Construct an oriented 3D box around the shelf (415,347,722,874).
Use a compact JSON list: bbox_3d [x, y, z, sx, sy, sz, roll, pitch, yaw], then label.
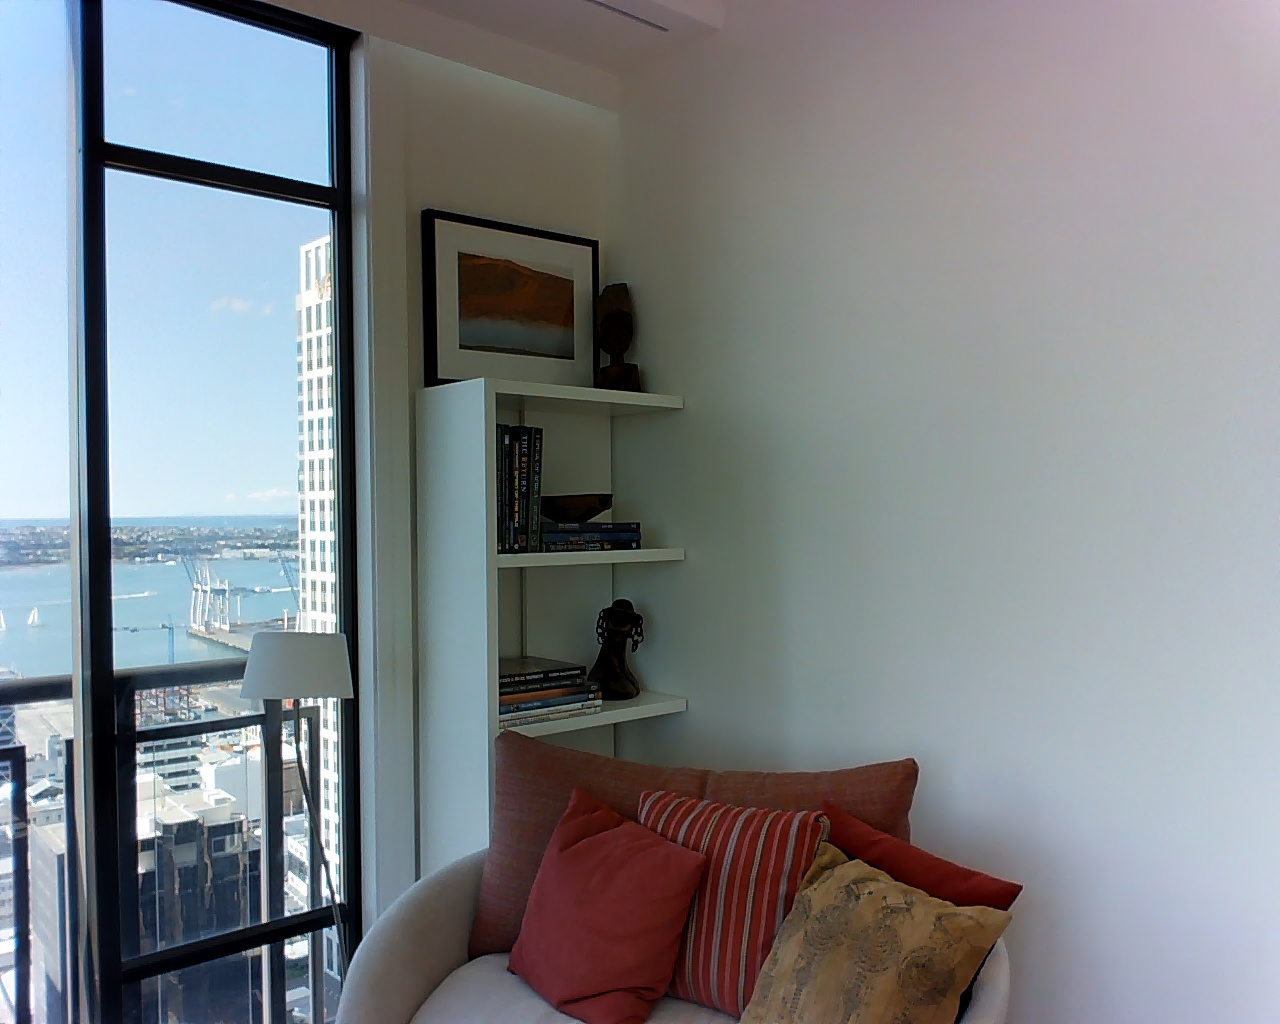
[{"bbox_3d":[-0.170,0.210,2.710,0.670,1.150,0.390,-1,2,-42],"label":"shelf"}]
